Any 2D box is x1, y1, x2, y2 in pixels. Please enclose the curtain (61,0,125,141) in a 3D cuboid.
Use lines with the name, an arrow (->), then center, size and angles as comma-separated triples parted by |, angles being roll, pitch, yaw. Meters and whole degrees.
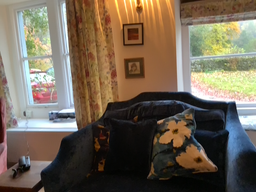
curtain -> -0.360, -0.470, 2.150 | 0.460, 1.840, 0.210 | 0, 10, 24
